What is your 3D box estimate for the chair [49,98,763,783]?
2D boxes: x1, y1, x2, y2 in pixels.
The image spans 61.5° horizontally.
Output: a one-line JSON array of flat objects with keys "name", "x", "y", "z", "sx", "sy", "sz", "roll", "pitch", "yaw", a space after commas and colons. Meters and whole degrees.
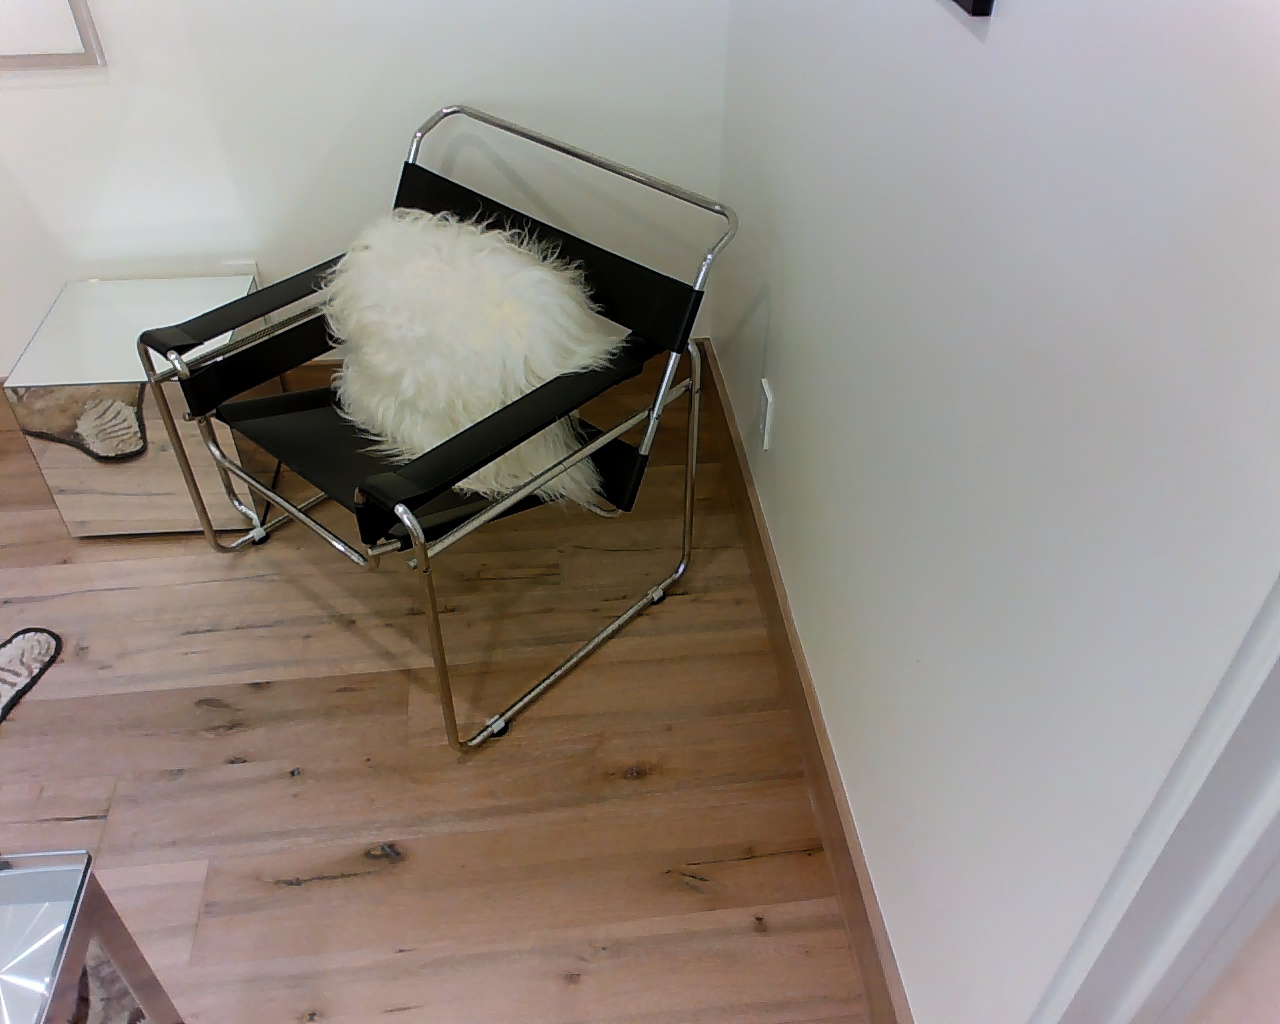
[{"name": "chair", "x": -0.390, "y": -0.200, "z": 2.040, "sx": 0.890, "sy": 0.730, "sz": 0.790, "roll": 29, "pitch": 49, "yaw": 29}]
